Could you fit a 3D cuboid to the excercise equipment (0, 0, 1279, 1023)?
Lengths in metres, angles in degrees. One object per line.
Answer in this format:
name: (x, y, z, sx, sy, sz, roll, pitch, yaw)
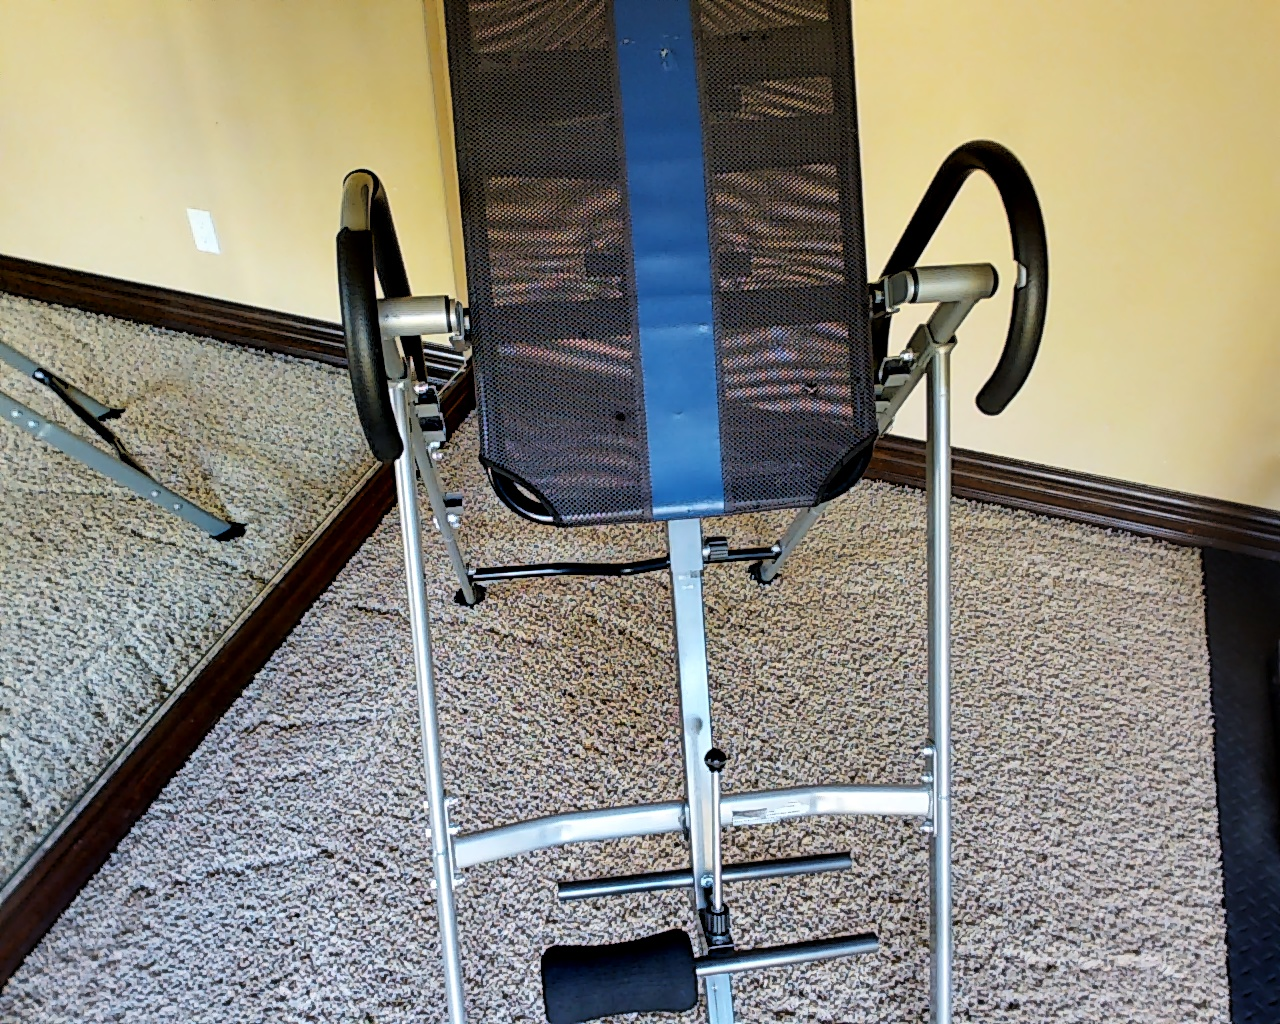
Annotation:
excercise equipment: (0.070, -0.070, 1.240, 0.770, 1.490, 1.080, -5, 42, -7)
